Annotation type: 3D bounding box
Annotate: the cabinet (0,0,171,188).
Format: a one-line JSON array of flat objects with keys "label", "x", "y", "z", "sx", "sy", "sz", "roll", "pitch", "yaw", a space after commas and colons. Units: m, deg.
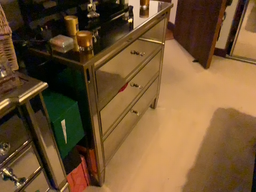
[{"label": "cabinet", "x": -0.150, "y": -0.090, "z": 1.310, "sx": 0.480, "sy": 0.780, "sz": 0.820, "roll": 18, "pitch": 41, "yaw": 22}]
